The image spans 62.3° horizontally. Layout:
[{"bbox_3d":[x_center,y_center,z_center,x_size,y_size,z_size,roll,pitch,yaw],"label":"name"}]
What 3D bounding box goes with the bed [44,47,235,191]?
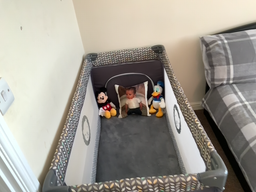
[{"bbox_3d":[0.040,0.280,1.450,0.670,0.760,1.210,-8,33,0],"label":"bed"}]
